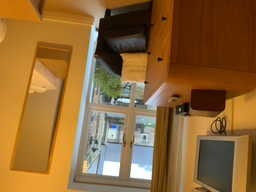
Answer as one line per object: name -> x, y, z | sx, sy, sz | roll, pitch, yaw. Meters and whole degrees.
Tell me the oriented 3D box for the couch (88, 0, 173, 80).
couch -> 0.060, -0.600, 2.360 | 0.720, 0.680, 0.570 | 0, 168, 25
